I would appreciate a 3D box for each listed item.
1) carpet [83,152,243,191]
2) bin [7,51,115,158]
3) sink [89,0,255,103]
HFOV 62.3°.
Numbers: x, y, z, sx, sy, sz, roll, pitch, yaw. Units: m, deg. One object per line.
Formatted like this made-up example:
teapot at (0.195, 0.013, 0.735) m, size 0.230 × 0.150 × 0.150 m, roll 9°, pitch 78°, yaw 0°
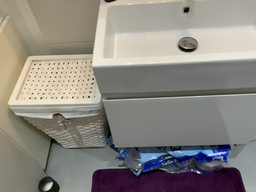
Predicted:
carpet at (0.180, 0.560, 1.100) m, size 0.840 × 0.030 × 0.530 m, roll -2°, pitch 53°, yaw 2°
bin at (-0.280, 0.080, 1.130) m, size 0.360 × 0.550 × 0.300 m, roll -1°, pitch 53°, yaw 3°
sink at (0.200, -0.200, 0.730) m, size 0.600 × 0.150 × 0.420 m, roll -2°, pitch 53°, yaw 2°
